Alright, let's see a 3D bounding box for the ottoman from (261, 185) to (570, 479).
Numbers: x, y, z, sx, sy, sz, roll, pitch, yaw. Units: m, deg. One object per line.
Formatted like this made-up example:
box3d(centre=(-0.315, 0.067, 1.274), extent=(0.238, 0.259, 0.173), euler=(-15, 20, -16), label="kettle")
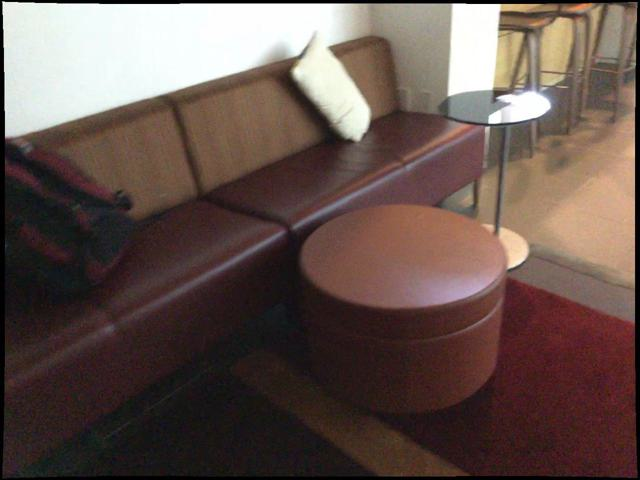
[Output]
box3d(centre=(0.299, 0.231, 1.860), extent=(0.669, 0.441, 0.649), euler=(25, 42, 38), label="ottoman")
